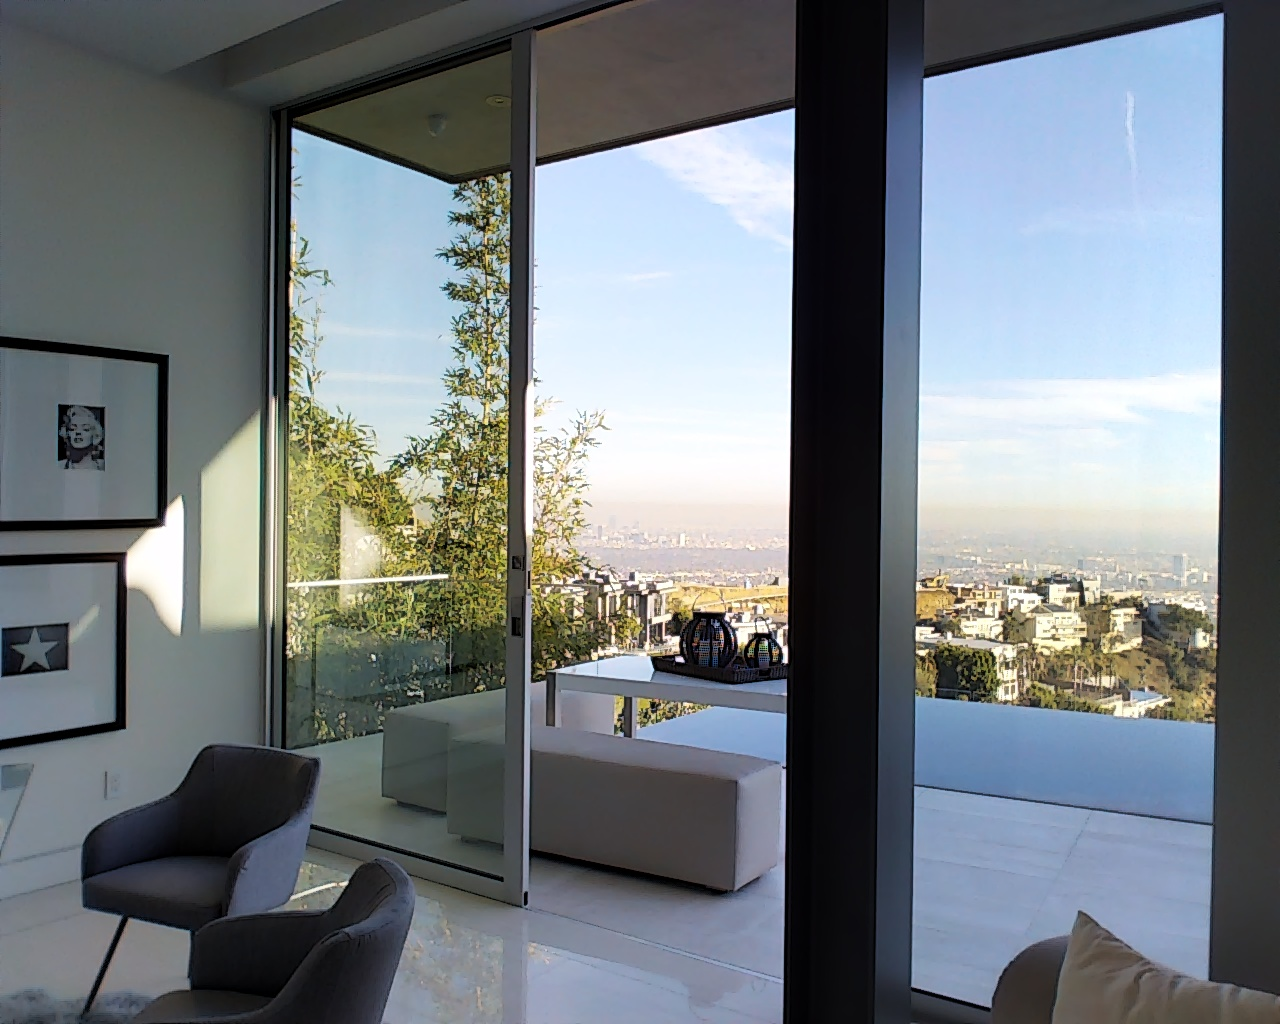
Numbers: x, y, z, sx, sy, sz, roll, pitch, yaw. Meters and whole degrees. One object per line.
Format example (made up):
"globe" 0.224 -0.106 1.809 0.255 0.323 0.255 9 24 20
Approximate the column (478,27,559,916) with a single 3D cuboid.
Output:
"column" -0.480 -0.150 4.270 0.200 3.420 0.210 1 1 13

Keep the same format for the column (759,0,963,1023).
"column" 0.610 -0.260 2.940 0.380 3.641 0.350 1 1 36
